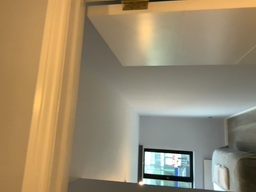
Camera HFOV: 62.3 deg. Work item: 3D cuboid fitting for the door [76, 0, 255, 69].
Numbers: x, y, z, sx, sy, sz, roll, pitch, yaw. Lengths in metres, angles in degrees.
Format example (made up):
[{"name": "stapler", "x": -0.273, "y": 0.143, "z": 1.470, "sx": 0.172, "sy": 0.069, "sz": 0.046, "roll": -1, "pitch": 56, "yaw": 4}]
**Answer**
[{"name": "door", "x": 0.830, "y": -0.270, "z": 1.080, "sx": 0.790, "sy": 1.980, "sz": 0.040, "roll": 42, "pitch": -130, "yaw": -77}]
